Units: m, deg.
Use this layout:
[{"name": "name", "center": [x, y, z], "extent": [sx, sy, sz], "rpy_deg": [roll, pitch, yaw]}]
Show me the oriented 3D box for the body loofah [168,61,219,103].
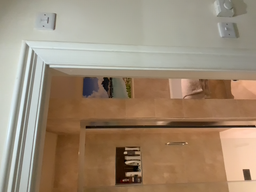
[{"name": "body loofah", "center": [0.910, -0.180, 3.060], "extent": [0.530, 0.490, 0.460], "rpy_deg": [121, 149, -75]}]
